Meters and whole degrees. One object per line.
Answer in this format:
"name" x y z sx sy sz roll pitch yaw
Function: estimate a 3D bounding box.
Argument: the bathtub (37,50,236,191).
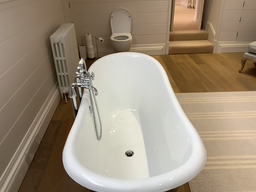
"bathtub" -0.010 0.230 1.630 0.710 0.700 1.620 -2 29 -3
